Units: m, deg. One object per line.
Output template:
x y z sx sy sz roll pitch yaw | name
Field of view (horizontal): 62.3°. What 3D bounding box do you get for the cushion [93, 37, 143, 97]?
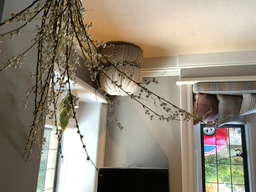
-0.080 -0.280 2.310 0.400 0.480 0.530 -1 167 13 | cushion
